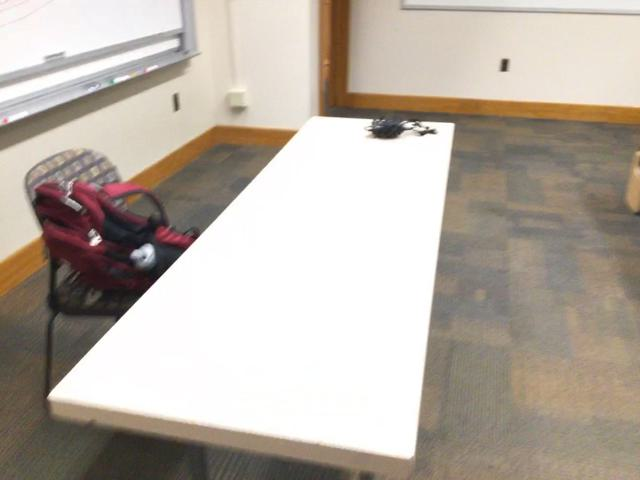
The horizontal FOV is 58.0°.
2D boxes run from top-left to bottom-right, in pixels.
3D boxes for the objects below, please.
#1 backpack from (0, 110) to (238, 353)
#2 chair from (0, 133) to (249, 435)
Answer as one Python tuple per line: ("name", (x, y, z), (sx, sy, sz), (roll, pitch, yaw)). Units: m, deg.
("backpack", (-0.600, -0.020, 1.660), (0.400, 0.480, 0.400), (-17, 21, 33))
("chair", (-0.590, 0.120, 1.860), (0.550, 0.770, 0.470), (7, 28, 13))
